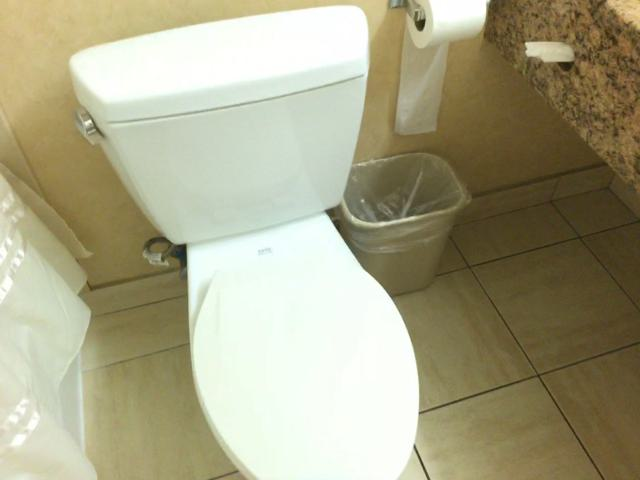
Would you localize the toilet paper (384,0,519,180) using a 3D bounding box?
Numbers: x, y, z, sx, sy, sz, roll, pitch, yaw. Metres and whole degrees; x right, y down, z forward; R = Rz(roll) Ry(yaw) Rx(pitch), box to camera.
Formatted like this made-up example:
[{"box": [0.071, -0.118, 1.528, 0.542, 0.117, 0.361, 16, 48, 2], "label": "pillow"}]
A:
[{"box": [0.250, -0.330, 1.170, 0.180, 0.400, 0.120, -15, 50, -12], "label": "toilet paper"}]

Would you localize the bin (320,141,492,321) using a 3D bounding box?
[{"box": [0.190, -0.020, 1.410, 0.320, 0.310, 0.220, -15, 50, -12], "label": "bin"}]

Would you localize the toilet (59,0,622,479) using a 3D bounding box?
[{"box": [-0.060, 0.110, 1.030, 0.510, 0.730, 0.760, -15, 50, -12], "label": "toilet"}]
